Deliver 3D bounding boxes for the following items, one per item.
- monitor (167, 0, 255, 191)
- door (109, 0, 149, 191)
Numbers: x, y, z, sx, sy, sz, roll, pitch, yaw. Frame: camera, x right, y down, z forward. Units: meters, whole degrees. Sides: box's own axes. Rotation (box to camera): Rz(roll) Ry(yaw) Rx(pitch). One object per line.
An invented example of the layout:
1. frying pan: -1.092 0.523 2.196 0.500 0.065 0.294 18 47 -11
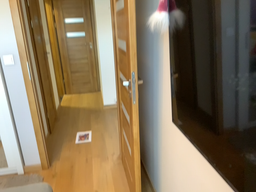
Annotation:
1. monitor: 0.330 0.040 0.410 0.040 0.730 1.230 -6 16 -10
2. door: -0.010 -0.120 1.750 0.110 2.060 0.890 -6 19 -10
